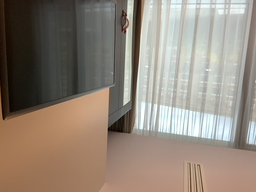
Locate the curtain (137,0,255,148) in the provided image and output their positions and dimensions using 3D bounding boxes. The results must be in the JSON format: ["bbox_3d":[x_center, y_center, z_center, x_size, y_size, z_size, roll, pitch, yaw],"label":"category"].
[{"bbox_3d":[1.020,-0.680,2.140,1.750,2.390,0.110,5,-170,14],"label":"curtain"}]
